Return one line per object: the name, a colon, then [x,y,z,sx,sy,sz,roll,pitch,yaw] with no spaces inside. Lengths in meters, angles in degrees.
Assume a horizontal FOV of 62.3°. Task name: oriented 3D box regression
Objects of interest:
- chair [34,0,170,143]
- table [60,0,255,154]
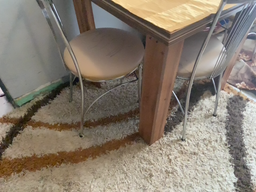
chair: [-0.110,-0.220,1.110,0.420,0.810,0.400,-36,57,-28]
table: [0.190,-0.350,1.270,0.810,0.760,0.790,-31,55,-25]
